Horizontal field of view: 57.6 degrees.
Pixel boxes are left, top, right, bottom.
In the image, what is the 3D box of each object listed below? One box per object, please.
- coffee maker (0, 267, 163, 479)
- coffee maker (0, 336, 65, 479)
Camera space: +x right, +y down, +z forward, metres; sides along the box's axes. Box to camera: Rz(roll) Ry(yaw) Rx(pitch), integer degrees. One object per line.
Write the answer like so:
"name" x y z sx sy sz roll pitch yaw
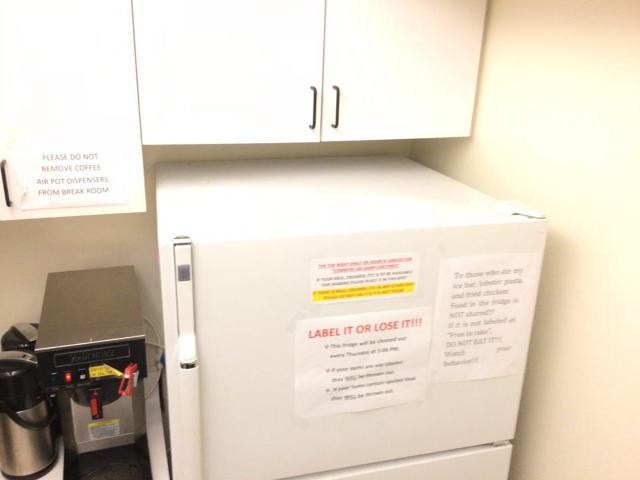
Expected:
"coffee maker" -0.560 0.380 1.430 0.290 0.480 0.420 -6 20 -16
"coffee maker" -0.780 0.440 1.460 0.200 0.340 0.150 -6 20 -16
